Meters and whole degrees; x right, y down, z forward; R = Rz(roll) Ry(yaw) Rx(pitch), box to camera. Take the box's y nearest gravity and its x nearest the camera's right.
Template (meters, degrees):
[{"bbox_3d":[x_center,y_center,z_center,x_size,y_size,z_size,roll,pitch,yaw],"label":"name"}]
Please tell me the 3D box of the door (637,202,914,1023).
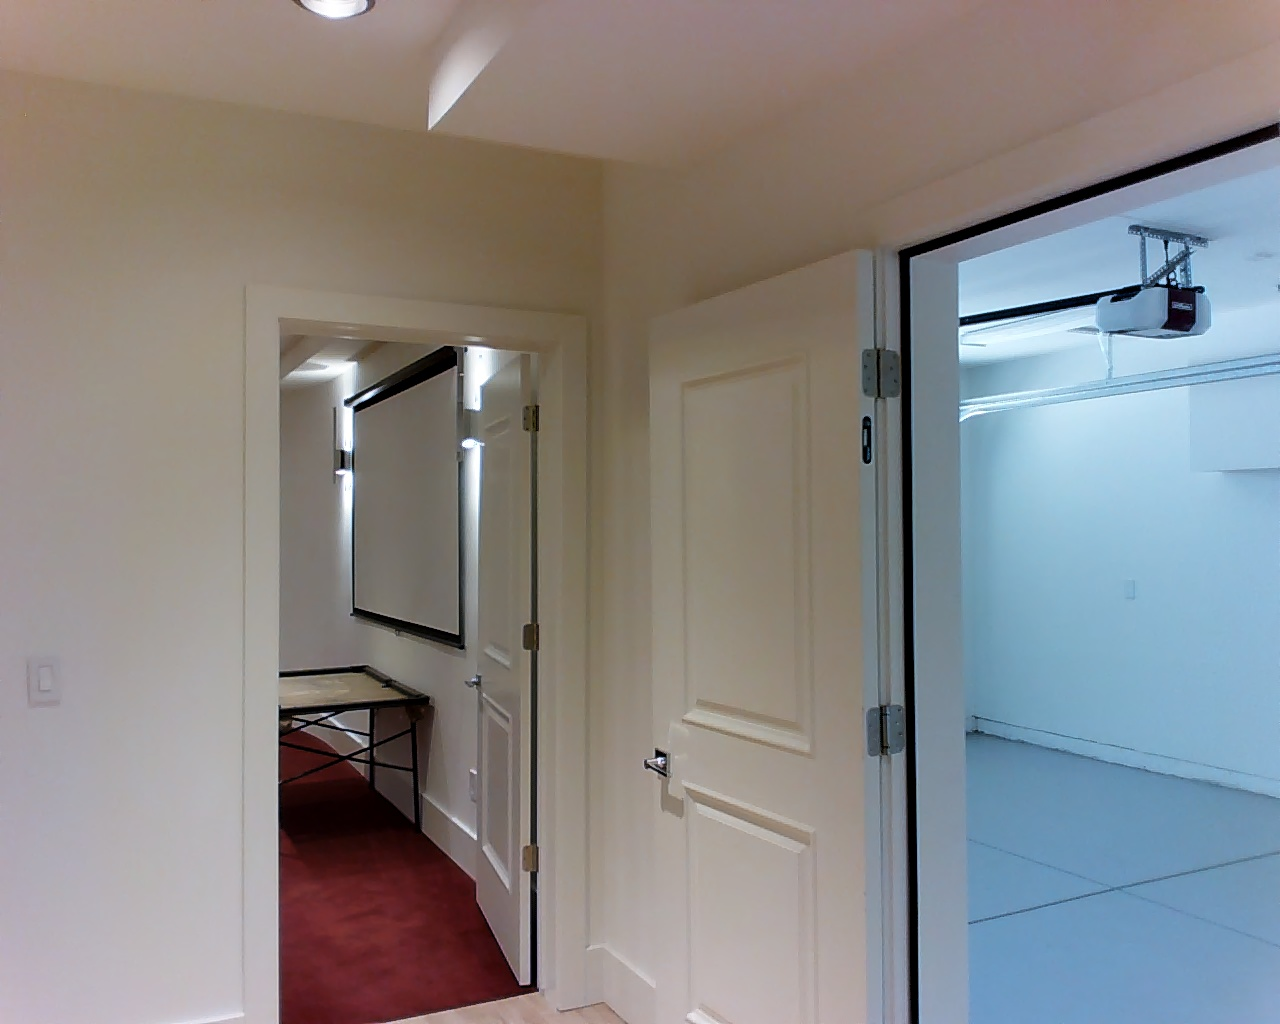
[{"bbox_3d":[0.280,0.460,2.640,0.090,2.180,0.990,0,-1,-30],"label":"door"}]
